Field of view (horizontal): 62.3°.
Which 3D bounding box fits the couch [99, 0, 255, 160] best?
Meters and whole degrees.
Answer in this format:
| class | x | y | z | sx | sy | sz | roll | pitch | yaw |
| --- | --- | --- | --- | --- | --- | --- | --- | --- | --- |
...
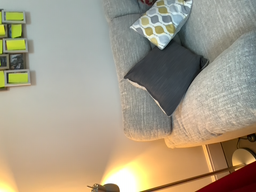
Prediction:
| class | x | y | z | sx | sy | sz | roll | pitch | yaw |
| --- | --- | --- | --- | --- | --- | --- | --- | --- | --- |
| couch | 0.420 | -0.300 | 1.440 | 1.090 | 0.870 | 1.200 | 131 | 130 | -64 |
